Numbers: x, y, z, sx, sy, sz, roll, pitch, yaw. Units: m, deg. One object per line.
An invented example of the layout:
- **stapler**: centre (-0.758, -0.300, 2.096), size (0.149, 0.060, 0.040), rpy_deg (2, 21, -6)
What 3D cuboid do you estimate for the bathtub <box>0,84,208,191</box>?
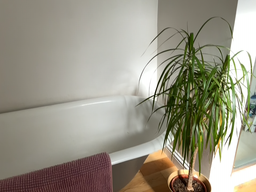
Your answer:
- **bathtub**: centre (-0.500, 0.460, 1.280), size (1.710, 0.590, 0.750), rpy_deg (-11, 26, -19)
